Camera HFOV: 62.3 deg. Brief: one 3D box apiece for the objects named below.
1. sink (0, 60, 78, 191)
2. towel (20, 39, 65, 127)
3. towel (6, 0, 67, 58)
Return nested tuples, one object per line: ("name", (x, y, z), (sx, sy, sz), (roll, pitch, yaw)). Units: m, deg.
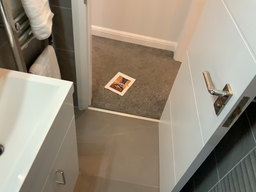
("sink", (-0.440, 0.150, 0.700), (0.350, 0.130, 0.640), (11, 46, 1))
("towel", (-0.510, -0.070, 1.340), (0.090, 0.450, 0.320), (9, 46, -1))
("towel", (-0.400, -0.450, 0.940), (0.140, 0.480, 0.260), (10, 46, 0))
